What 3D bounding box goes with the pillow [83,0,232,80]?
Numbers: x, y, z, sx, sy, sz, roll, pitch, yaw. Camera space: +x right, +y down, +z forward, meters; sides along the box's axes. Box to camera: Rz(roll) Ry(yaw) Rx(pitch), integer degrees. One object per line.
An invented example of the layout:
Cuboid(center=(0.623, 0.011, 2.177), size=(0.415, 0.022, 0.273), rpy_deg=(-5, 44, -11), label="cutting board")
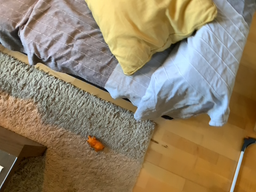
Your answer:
Cuboid(center=(0.070, -0.390, 0.850), size=(0.360, 0.230, 0.490), rpy_deg=(-32, 83, -14), label="pillow")
